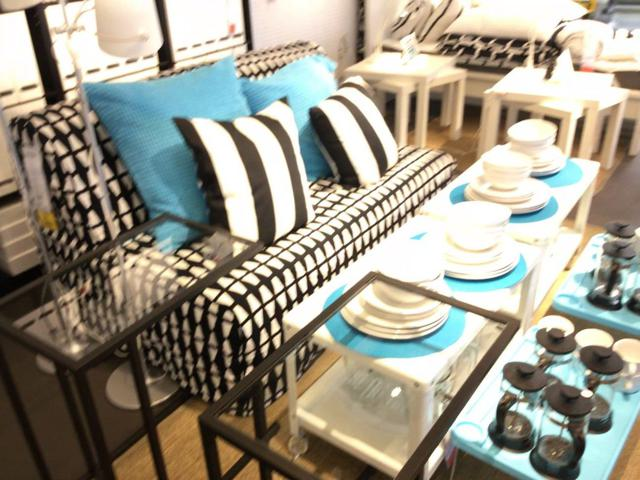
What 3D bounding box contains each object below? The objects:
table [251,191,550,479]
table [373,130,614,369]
[{"bbox_3d":[0.290,0.280,1.700,0.490,0.560,0.760,11,32,38],"label":"table"},{"bbox_3d":[0.690,-0.030,2.210,0.570,0.550,0.780,11,32,38],"label":"table"}]
